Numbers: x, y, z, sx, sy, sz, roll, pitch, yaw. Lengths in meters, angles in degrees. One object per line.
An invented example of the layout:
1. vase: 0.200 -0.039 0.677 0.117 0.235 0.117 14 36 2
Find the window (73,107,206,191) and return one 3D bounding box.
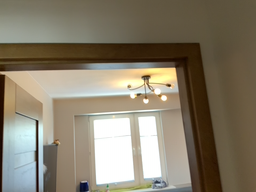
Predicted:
1. window: 0.220 1.080 4.060 2.400 1.590 0.180 -3 -11 -9
